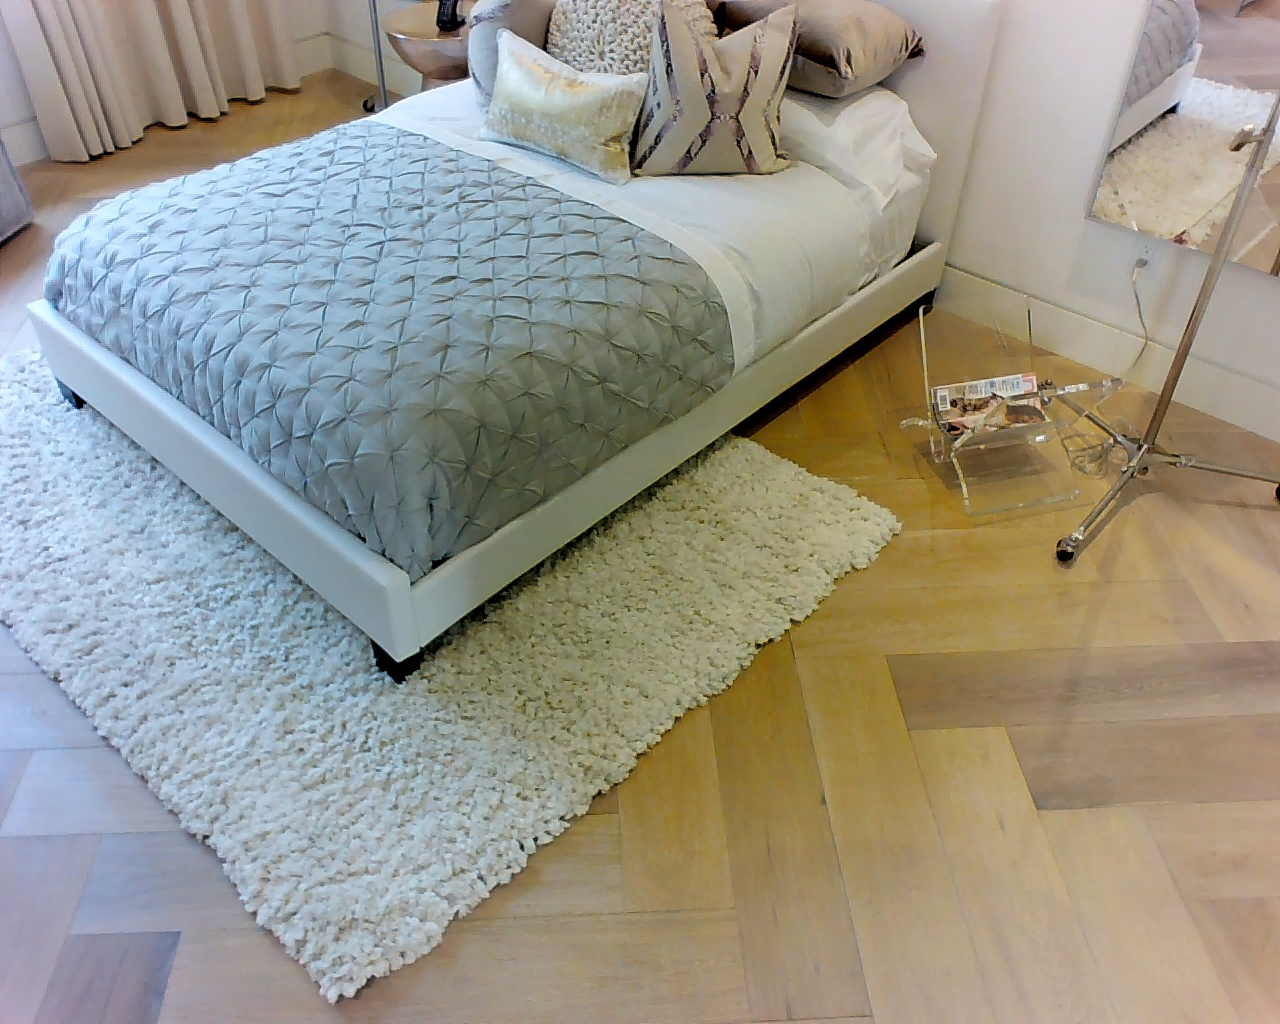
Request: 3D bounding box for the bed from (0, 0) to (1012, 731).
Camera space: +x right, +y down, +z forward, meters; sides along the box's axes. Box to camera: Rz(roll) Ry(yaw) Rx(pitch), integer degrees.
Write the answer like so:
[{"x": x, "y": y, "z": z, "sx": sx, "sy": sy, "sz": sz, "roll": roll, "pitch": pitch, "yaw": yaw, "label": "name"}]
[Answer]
[{"x": -0.300, "y": -0.740, "z": 2.750, "sx": 1.450, "sy": 0.880, "sz": 2.100, "roll": 30, "pitch": 49, "yaw": 30, "label": "bed"}]
